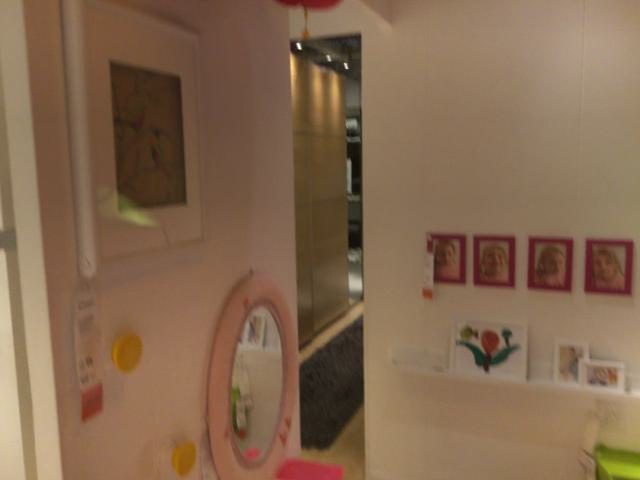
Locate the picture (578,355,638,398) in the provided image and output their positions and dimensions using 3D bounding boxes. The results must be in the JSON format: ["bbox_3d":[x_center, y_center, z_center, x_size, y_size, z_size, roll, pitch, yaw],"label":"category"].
[{"bbox_3d":[1.060,0.500,2.130,0.190,0.110,0.090,1,7,28],"label":"picture"}]

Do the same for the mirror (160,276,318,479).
[{"bbox_3d":[-0.160,0.390,1.390,0.050,0.520,0.530,1,7,28],"label":"mirror"}]

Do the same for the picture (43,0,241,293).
[{"bbox_3d":[-0.290,-0.160,1.040,0.060,0.440,0.380,1,7,28],"label":"picture"}]

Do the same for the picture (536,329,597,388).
[{"bbox_3d":[0.940,0.450,2.210,0.210,0.190,0.060,1,7,26],"label":"picture"}]

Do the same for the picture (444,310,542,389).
[{"bbox_3d":[0.690,0.430,2.310,0.360,0.250,0.110,1,7,29],"label":"picture"}]
